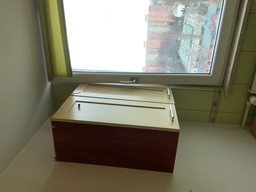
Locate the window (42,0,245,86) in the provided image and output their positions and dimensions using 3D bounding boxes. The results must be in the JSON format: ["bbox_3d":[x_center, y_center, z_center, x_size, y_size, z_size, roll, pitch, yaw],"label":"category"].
[{"bbox_3d":[0.080,-0.520,1.540,0.180,1.320,0.810,-79,-8,-63],"label":"window"}]
